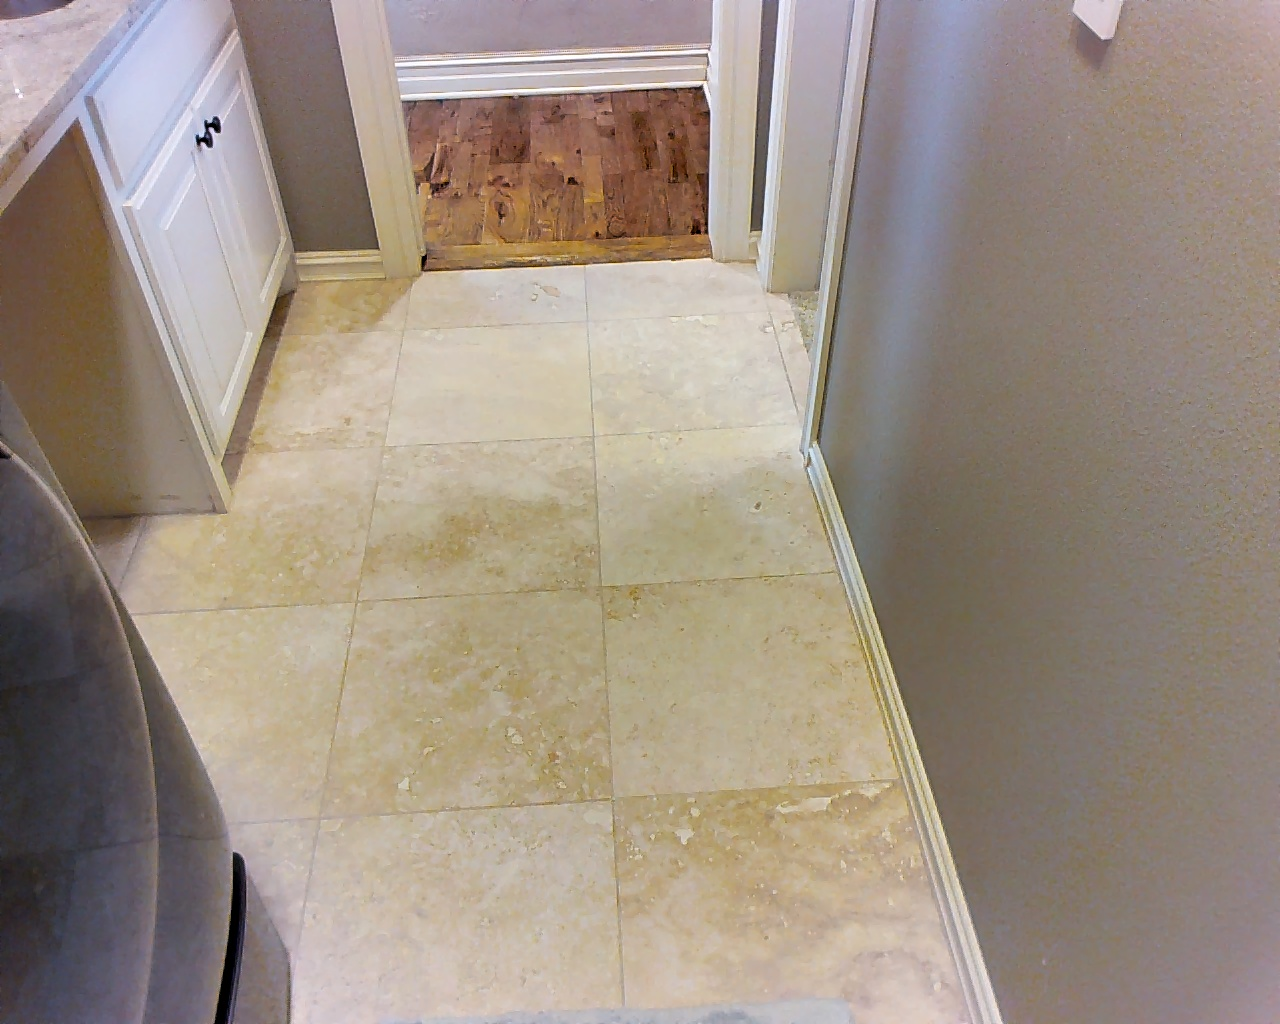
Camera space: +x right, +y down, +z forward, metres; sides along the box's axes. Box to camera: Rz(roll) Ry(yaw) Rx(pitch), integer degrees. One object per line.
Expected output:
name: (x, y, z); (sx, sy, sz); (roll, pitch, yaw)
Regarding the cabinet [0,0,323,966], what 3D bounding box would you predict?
cabinet: (-1.120, -0.310, 1.870); (0.640, 0.890, 1.850); (-3, 43, -2)
